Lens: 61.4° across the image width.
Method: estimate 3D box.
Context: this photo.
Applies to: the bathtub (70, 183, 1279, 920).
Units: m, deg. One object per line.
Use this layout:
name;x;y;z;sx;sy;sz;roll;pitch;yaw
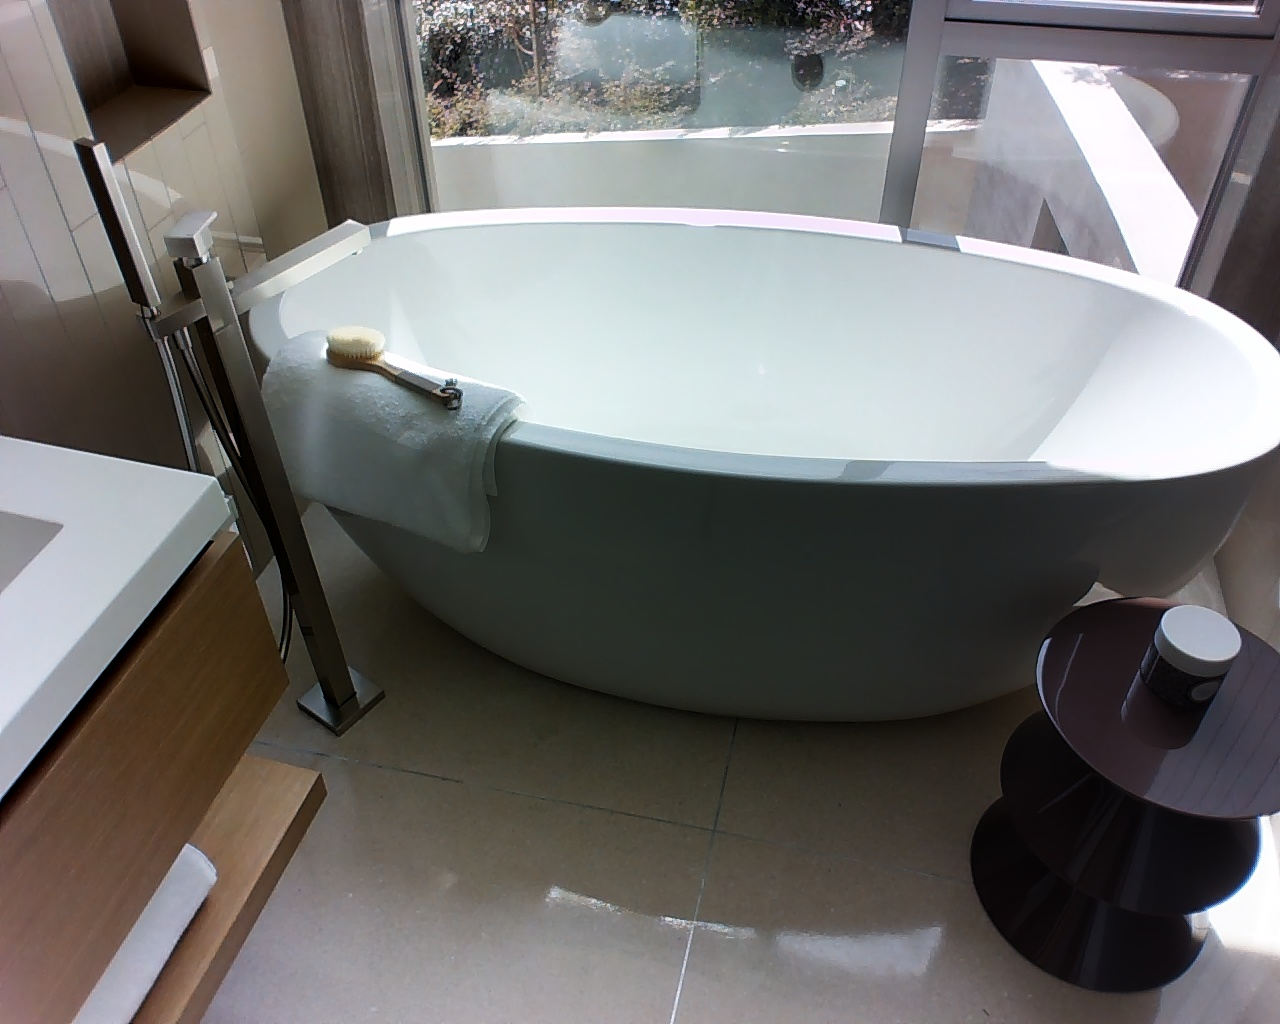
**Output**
bathtub;0.060;0.000;1.820;1.730;0.730;0.550;12;43;16
